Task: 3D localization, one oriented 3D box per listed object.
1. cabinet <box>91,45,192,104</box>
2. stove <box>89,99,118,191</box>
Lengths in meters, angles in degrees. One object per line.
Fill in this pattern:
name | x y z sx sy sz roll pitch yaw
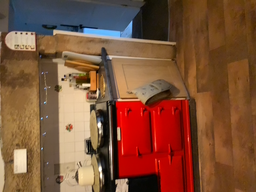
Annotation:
cabinet | 0.110 -0.190 2.310 0.620 0.900 0.490 167 102 -70
stove | -0.260 0.570 2.080 0.690 0.100 1.030 167 102 -70
